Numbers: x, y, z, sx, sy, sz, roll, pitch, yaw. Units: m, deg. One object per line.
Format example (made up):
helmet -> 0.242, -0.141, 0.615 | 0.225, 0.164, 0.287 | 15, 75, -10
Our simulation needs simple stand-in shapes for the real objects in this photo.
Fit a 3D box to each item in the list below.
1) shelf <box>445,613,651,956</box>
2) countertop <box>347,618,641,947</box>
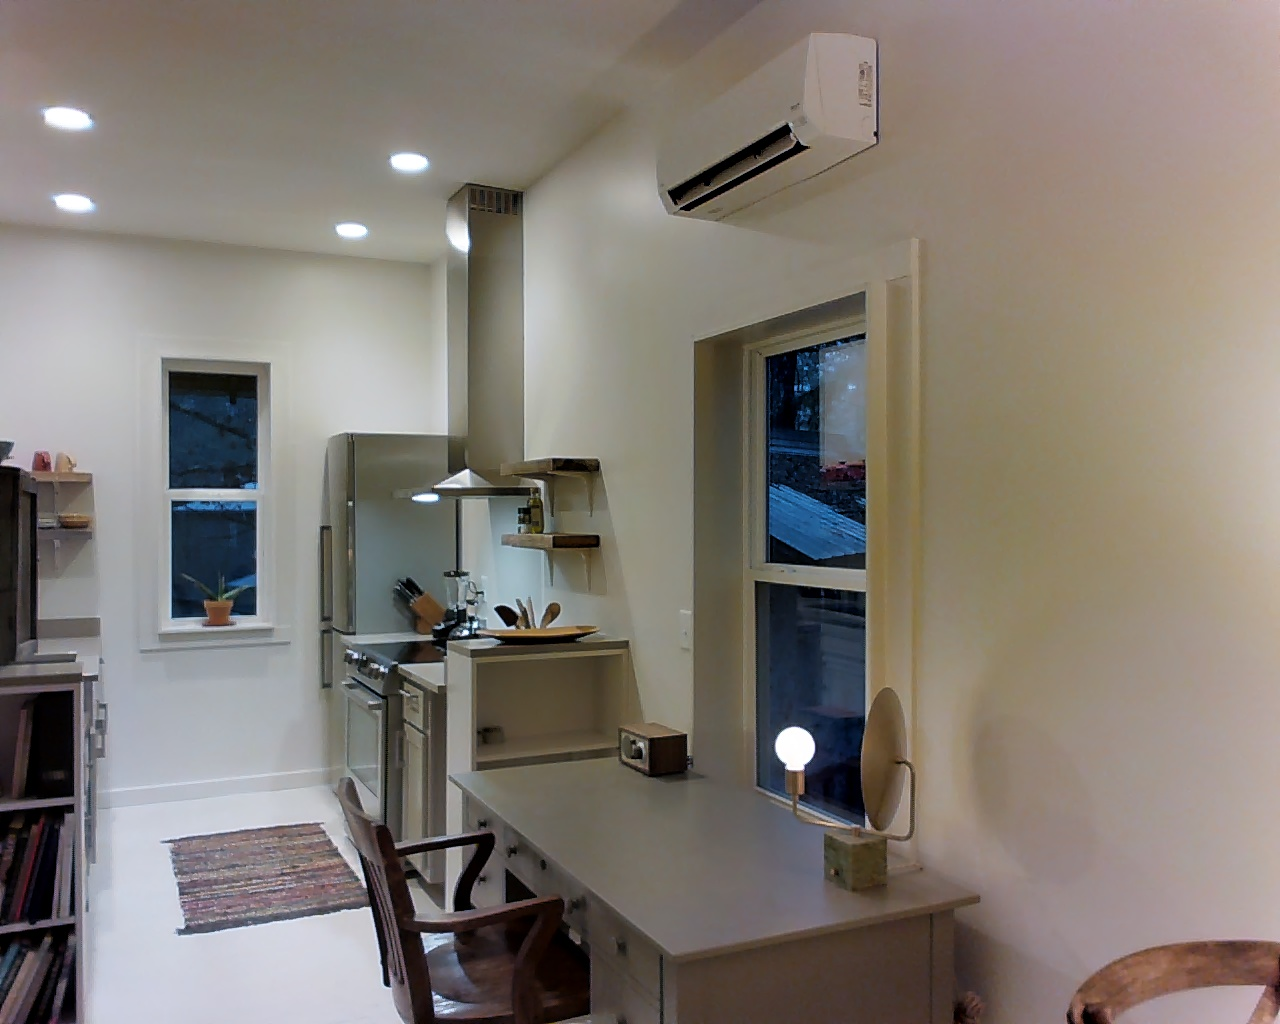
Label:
shelf -> -0.350, 0.970, 4.040 | 0.650, 1.110, 0.430 | -1, 0, -26
countertop -> -0.780, 1.060, 4.910 | 0.680, 0.920, 2.190 | -1, 0, -26
